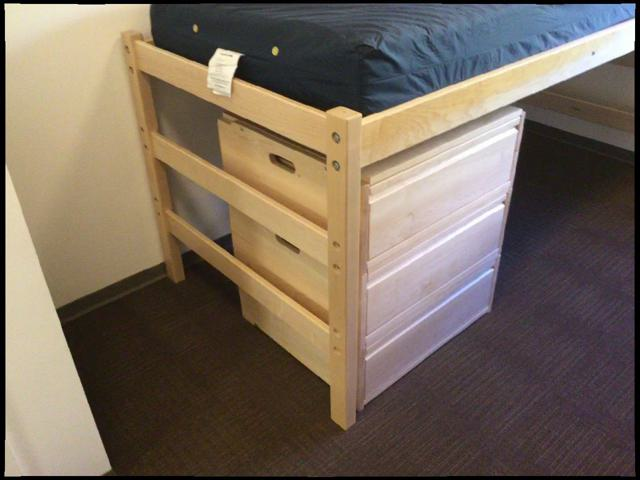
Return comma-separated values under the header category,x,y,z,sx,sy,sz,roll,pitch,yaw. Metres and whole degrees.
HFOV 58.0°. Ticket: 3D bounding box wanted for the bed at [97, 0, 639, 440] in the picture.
category,x,y,z,sx,sy,sz,roll,pitch,yaw
bed,0.579,-0.551,2.280,2.348,1.102,1.049,-26,41,-31
